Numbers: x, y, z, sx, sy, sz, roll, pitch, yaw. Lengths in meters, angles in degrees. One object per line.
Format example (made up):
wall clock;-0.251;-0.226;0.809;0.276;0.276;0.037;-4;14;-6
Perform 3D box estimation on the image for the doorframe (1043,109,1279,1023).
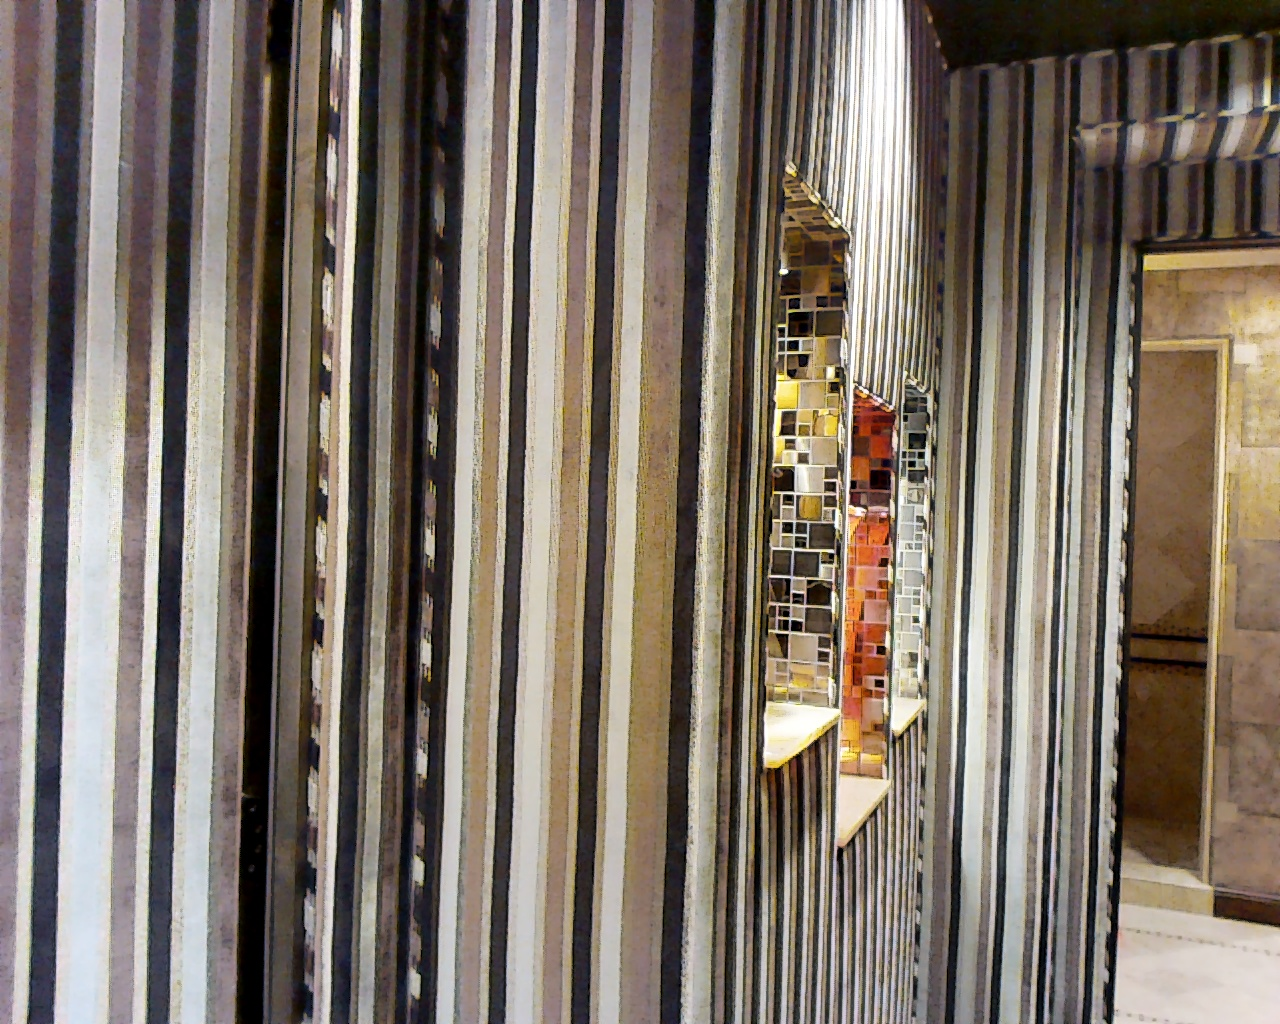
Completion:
doorframe;1.720;0.320;2.880;1.110;2.640;0.510;2;0;23
